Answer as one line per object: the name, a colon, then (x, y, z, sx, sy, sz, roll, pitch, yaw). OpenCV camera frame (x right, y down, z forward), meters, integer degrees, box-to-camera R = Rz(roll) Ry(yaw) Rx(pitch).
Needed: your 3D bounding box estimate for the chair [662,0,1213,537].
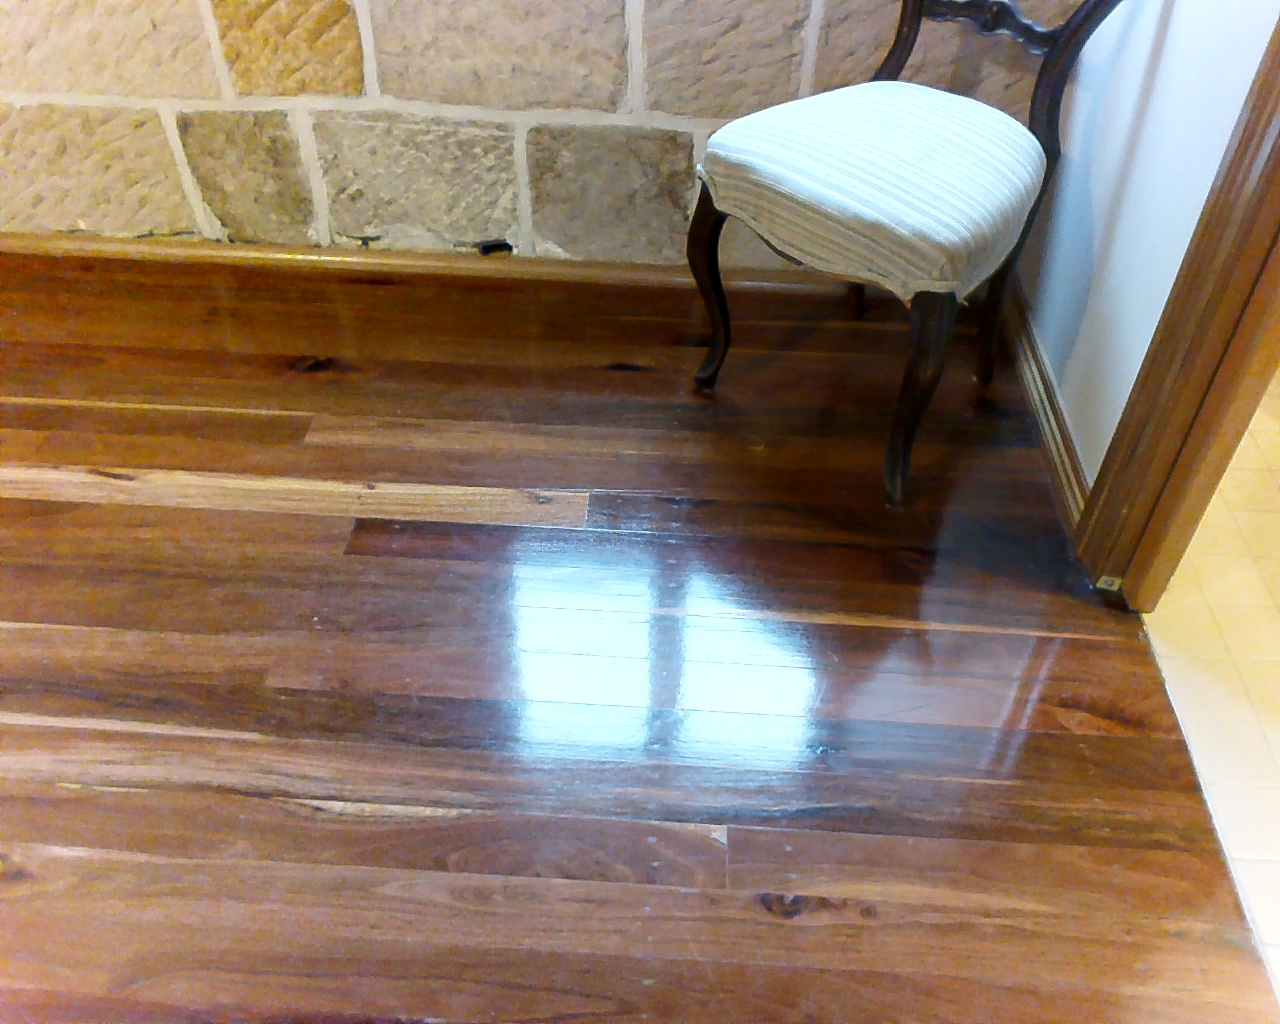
chair: (0.420, -0.540, 1.620, 0.500, 0.890, 0.550, 34, 52, 30)
